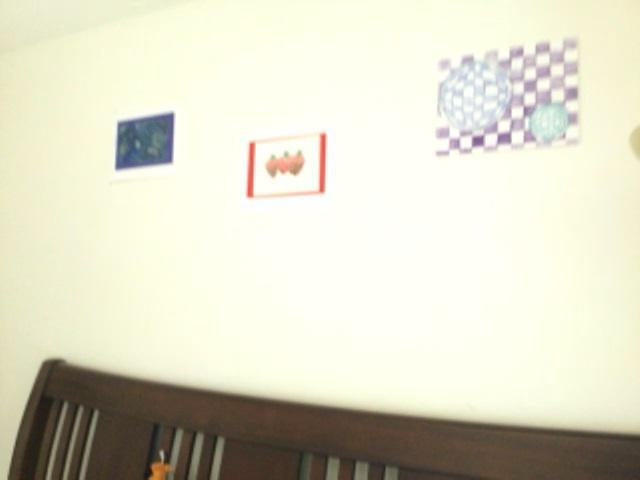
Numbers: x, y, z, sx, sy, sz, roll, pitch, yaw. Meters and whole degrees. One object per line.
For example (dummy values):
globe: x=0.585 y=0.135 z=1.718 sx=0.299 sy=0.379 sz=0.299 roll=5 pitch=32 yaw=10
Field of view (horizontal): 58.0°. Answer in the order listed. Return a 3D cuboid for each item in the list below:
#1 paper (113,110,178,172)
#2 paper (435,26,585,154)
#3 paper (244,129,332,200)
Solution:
paper: x=-0.500 y=-0.280 z=1.650 sx=0.220 sy=0.150 sz=0.020 roll=-2 pitch=-7 yaw=29
paper: x=0.370 y=-0.290 z=1.150 sx=0.280 sy=0.210 sz=0.030 roll=-2 pitch=-7 yaw=29
paper: x=-0.080 y=-0.180 z=1.400 sx=0.230 sy=0.150 sz=0.020 roll=-2 pitch=-7 yaw=29
